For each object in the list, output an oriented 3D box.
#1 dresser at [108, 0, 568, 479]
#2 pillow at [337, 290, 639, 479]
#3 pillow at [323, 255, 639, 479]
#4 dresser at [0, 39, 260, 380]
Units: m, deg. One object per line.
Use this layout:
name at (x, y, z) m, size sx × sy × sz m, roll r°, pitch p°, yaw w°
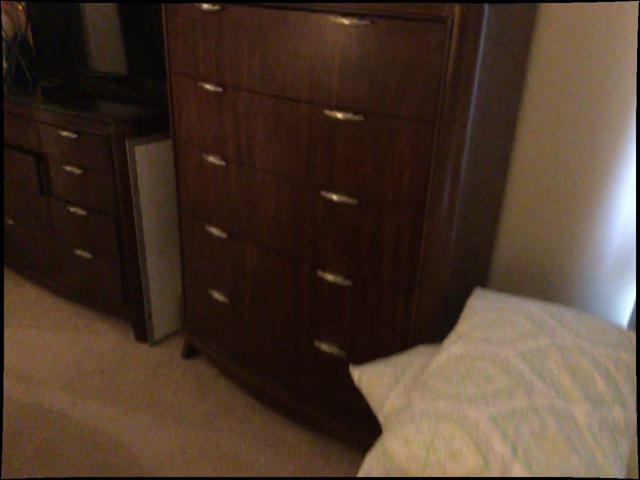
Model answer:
dresser at (0.000, -0.180, 1.950) m, size 1.208 × 1.583 × 0.620 m, roll 20°, pitch 32°, yaw 32°
pillow at (0.539, 0.431, 1.340) m, size 0.888 × 0.180 × 0.810 m, roll -2°, pitch 27°, yaw -6°
pillow at (0.439, 0.341, 1.260) m, size 0.529 × 0.210 × 0.730 m, roll 20°, pitch 33°, yaw 32°
dresser at (-1.267, -0.311, 2.790) m, size 1.898 × 1.002 × 0.760 m, roll 20°, pitch 33°, yaw 32°
